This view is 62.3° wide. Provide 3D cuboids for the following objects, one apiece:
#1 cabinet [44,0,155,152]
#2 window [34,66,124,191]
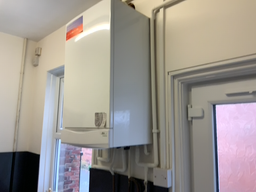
[{"bbox_3d":[-0.170,-0.160,1.300,0.540,0.900,0.380,-6,-12,43],"label":"cabinet"},{"bbox_3d":[-0.520,0.540,2.080,1.000,1.470,0.300,-6,-12,44],"label":"window"}]
